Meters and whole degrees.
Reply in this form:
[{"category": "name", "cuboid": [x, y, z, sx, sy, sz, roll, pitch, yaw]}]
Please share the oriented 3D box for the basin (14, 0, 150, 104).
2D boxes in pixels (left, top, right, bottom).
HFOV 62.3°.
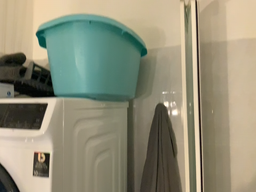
[{"category": "basin", "cuboid": [-0.150, -0.140, 0.940, 0.380, 0.340, 0.500, -1, -2, 20]}]
